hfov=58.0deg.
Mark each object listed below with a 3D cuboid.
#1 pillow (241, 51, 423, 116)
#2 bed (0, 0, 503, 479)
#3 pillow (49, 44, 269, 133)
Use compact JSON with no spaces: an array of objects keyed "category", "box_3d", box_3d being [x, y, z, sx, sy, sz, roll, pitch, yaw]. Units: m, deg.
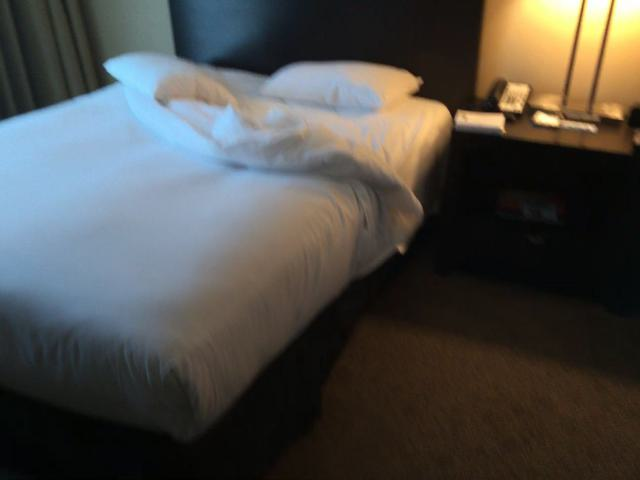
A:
[{"category":"pillow","box_3d":[0.060,-0.720,2.600,0.690,0.150,0.430,12,30,23]},{"category":"bed","box_3d":[-0.500,-0.420,2.060,1.780,1.540,2.120,12,30,23]},{"category":"pillow","box_3d":[-0.670,-0.680,2.500,0.700,0.210,0.560,12,30,23]}]
